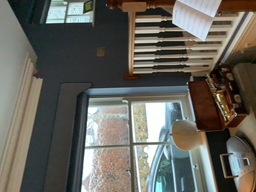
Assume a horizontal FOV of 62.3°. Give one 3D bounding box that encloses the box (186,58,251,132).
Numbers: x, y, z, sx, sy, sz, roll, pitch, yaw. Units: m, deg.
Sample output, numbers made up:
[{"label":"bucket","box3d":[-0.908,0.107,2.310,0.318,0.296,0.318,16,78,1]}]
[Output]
[{"label":"box","box3d":[0.850,0.000,2.120,0.460,0.340,0.590,92,176,-62]}]
